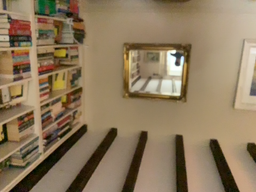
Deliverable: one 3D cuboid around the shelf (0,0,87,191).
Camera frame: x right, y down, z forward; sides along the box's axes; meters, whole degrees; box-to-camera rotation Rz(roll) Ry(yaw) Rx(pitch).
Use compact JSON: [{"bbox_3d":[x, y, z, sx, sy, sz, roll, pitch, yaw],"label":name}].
[{"bbox_3d":[-0.830,-0.560,1.760,0.300,2.320,1.690,5,-164,11],"label":"shelf"}]
